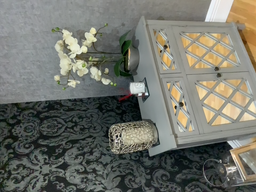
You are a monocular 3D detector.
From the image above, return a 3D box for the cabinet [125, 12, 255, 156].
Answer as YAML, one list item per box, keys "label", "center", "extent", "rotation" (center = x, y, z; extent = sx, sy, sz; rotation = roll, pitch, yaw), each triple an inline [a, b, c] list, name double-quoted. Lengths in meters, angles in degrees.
- label: "cabinet"
  center: [0.480, -0.090, 1.460]
  extent: [0.390, 0.800, 0.820]
  rotation: [125, 138, -62]

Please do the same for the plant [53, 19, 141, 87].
- label: "plant"
  center: [-0.220, -0.280, 1.430]
  extent: [0.250, 0.510, 0.350]
  rotation: [130, 134, -64]
